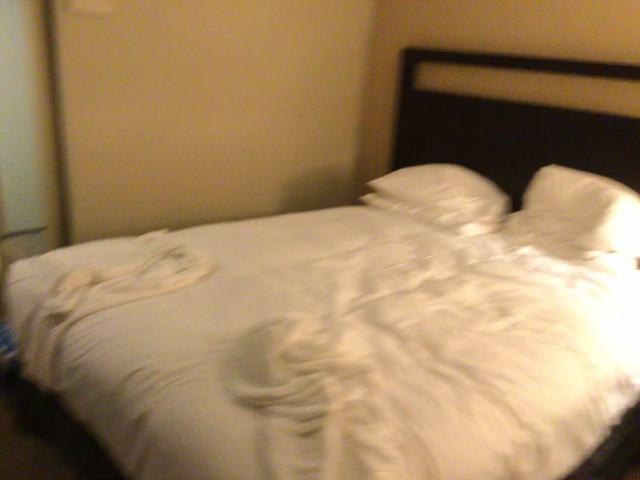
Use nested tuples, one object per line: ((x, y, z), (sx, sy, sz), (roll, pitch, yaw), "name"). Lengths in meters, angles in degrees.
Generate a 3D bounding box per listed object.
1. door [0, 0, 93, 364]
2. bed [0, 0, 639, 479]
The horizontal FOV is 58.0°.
((-1.400, -0.380, 2.650), (0.170, 1.510, 1.240), (-10, 20, -42), "door")
((0.200, 0.040, 1.910), (1.970, 1.610, 1.560), (-10, 20, -42), "bed")
